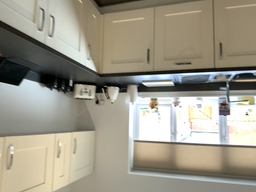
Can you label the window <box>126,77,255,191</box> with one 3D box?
[{"bbox_3d":[0.880,0.460,2.800,1.800,1.370,0.170,-1,173,14],"label":"window"}]
